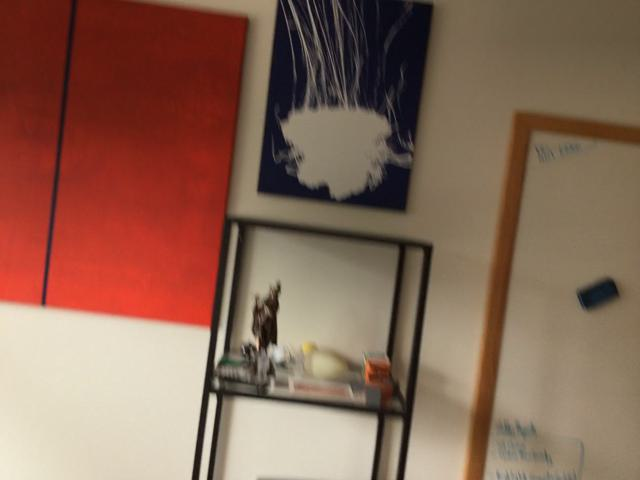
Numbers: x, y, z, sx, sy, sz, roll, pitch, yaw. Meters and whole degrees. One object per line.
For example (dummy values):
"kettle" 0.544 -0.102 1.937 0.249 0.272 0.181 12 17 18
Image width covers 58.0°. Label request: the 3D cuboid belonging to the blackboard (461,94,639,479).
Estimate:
"blackboard" 0.920 0.280 1.660 0.930 1.280 0.130 4 2 -4
